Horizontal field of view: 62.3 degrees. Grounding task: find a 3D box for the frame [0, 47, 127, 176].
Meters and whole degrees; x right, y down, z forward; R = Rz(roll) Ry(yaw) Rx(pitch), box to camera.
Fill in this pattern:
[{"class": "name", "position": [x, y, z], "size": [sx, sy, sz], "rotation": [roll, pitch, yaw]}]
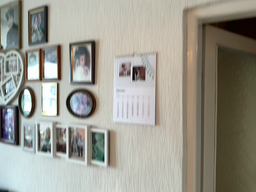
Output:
[{"class": "frame", "position": [-0.760, 0.060, 1.430], "size": [1.690, 0.600, 0.070], "rotation": [1, 3, 29]}]
